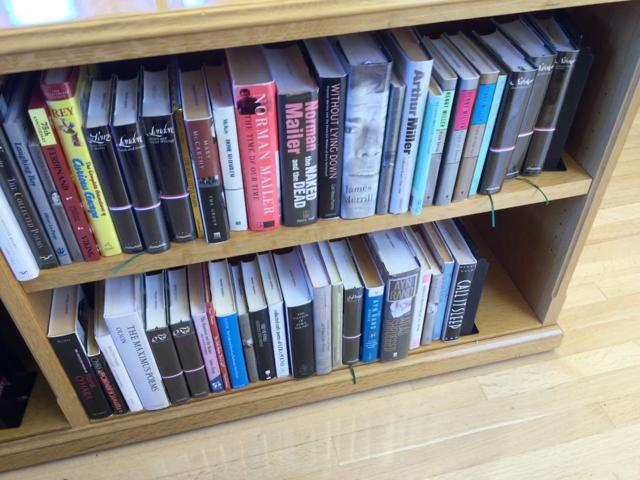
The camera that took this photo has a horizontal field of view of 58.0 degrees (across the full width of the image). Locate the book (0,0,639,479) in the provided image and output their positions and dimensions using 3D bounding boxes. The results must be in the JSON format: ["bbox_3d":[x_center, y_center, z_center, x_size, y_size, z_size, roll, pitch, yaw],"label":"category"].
[{"bbox_3d":[-0.860,0.110,0.760,2.570,0.720,0.260,-11,41,-8],"label":"book"}]
